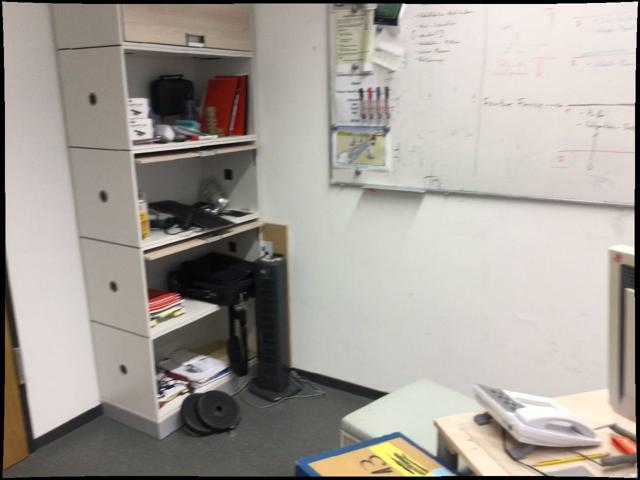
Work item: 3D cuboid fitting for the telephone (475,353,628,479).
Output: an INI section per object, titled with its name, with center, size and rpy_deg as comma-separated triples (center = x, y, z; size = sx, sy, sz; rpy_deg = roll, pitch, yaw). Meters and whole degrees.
[telephone]
center = 0.529, 0.400, 1.300
size = 0.250, 0.110, 0.350
rpy_deg = 9, 18, 31
